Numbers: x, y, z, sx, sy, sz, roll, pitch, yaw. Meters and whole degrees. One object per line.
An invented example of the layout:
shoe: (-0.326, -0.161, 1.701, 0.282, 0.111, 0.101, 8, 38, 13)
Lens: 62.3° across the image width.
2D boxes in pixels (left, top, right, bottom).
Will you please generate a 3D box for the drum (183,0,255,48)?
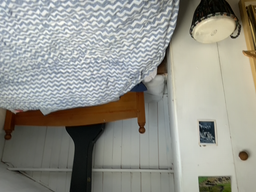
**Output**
drum: (0.530, -0.600, 1.310, 0.310, 0.510, 0.260, -2, 162, 6)
